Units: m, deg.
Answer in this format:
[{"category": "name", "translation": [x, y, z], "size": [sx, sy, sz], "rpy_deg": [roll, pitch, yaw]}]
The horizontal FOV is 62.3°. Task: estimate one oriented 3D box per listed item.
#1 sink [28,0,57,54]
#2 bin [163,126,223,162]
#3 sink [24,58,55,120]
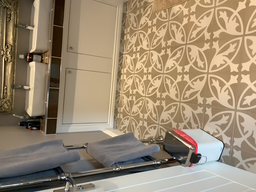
[{"category": "sink", "translation": [-0.890, -0.750, 2.190], "size": [0.430, 0.170, 0.580], "rpy_deg": [9, 95, 56]}, {"category": "bin", "translation": [0.410, 0.290, 1.350], "size": [0.230, 0.280, 0.160], "rpy_deg": [4, 90, 56]}, {"category": "sink", "translation": [-0.940, -0.080, 2.230], "size": [0.430, 0.180, 0.580], "rpy_deg": [9, 95, 56]}]
